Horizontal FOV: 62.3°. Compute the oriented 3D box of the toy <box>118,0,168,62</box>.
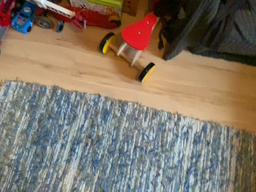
[{"bbox_3d":[0.120,-0.540,1.340,0.190,0.280,0.540,20,73,2],"label":"toy"}]
